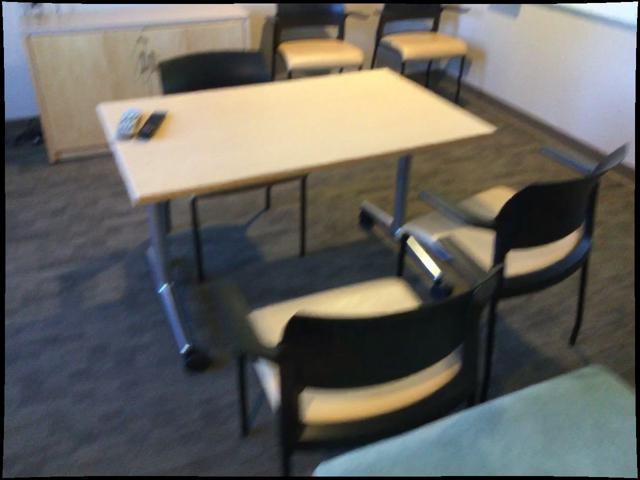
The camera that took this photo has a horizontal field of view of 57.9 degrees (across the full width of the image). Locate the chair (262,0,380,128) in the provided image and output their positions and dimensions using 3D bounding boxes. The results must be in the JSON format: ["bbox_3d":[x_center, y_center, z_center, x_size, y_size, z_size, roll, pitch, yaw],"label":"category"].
[{"bbox_3d":[-0.020,-1.241,3.770,0.540,0.761,0.630,-12,37,-19],"label":"chair"}]

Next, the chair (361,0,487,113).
[{"bbox_3d":[0.689,-1.401,4.040,0.530,0.761,0.660,-12,37,-19],"label":"chair"}]

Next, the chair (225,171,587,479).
[{"bbox_3d":[0.130,0.330,1.440,0.540,0.730,0.610,-12,37,-19],"label":"chair"}]

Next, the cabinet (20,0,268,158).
[{"bbox_3d":[-0.999,-1.011,3.430,1.249,0.700,0.550,-12,37,-19],"label":"cabinet"}]

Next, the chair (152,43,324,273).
[{"bbox_3d":[-0.340,-0.360,2.410,0.530,0.720,0.540,-12,37,-19],"label":"chair"}]
